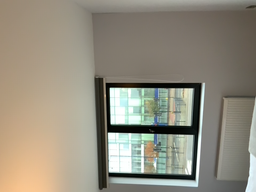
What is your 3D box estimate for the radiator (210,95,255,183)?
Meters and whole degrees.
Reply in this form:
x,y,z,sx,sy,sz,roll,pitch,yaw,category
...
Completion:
x,y,z,sx,sy,sz,roll,pitch,yaw,category
1.510,0.610,2.910,0.050,0.620,1.250,-70,-19,-76,radiator
